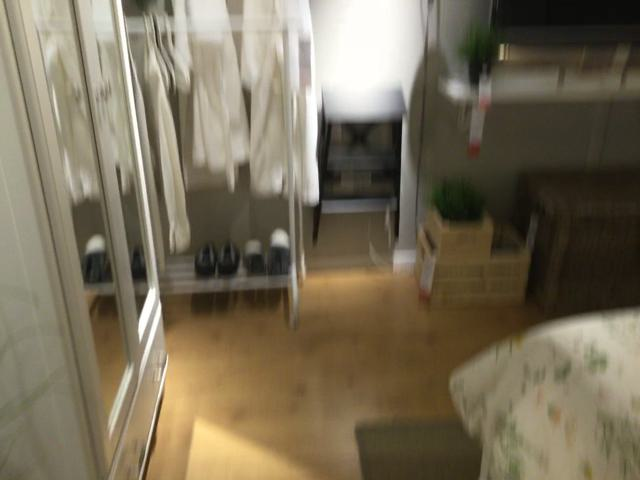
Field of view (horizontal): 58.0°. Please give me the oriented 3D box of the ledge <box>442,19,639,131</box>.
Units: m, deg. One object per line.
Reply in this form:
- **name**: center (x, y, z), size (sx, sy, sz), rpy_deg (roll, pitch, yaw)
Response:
- **ledge**: center (1.120, -0.710, 2.400), size (1.160, 0.320, 0.310), rpy_deg (-7, 25, -2)

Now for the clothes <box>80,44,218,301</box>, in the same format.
- **clothes**: center (-0.640, -0.290, 2.340), size (0.260, 0.880, 0.560), rpy_deg (-7, 25, -2)
